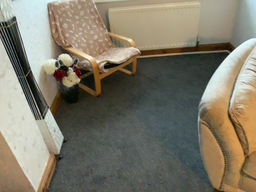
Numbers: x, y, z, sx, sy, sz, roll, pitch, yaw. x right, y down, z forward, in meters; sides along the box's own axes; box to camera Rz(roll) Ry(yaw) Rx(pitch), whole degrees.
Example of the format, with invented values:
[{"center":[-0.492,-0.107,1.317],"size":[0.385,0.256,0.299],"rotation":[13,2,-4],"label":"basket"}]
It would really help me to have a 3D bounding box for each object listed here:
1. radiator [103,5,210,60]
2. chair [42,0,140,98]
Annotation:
[{"center":[0.390,-0.900,3.050],"size":[1.410,0.630,0.220],"rotation":[-4,35,1],"label":"radiator"},{"center":[-0.410,-0.650,2.640],"size":[0.850,0.900,0.700],"rotation":[26,45,35],"label":"chair"}]
